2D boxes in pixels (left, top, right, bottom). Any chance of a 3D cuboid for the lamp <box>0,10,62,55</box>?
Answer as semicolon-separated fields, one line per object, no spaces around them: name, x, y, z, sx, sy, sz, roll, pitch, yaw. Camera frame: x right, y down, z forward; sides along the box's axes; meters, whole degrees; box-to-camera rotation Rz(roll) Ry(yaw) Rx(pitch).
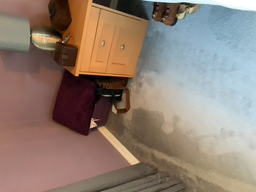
lamp;-0.730;-0.450;1.520;0.190;0.420;0.220;34;115;44
